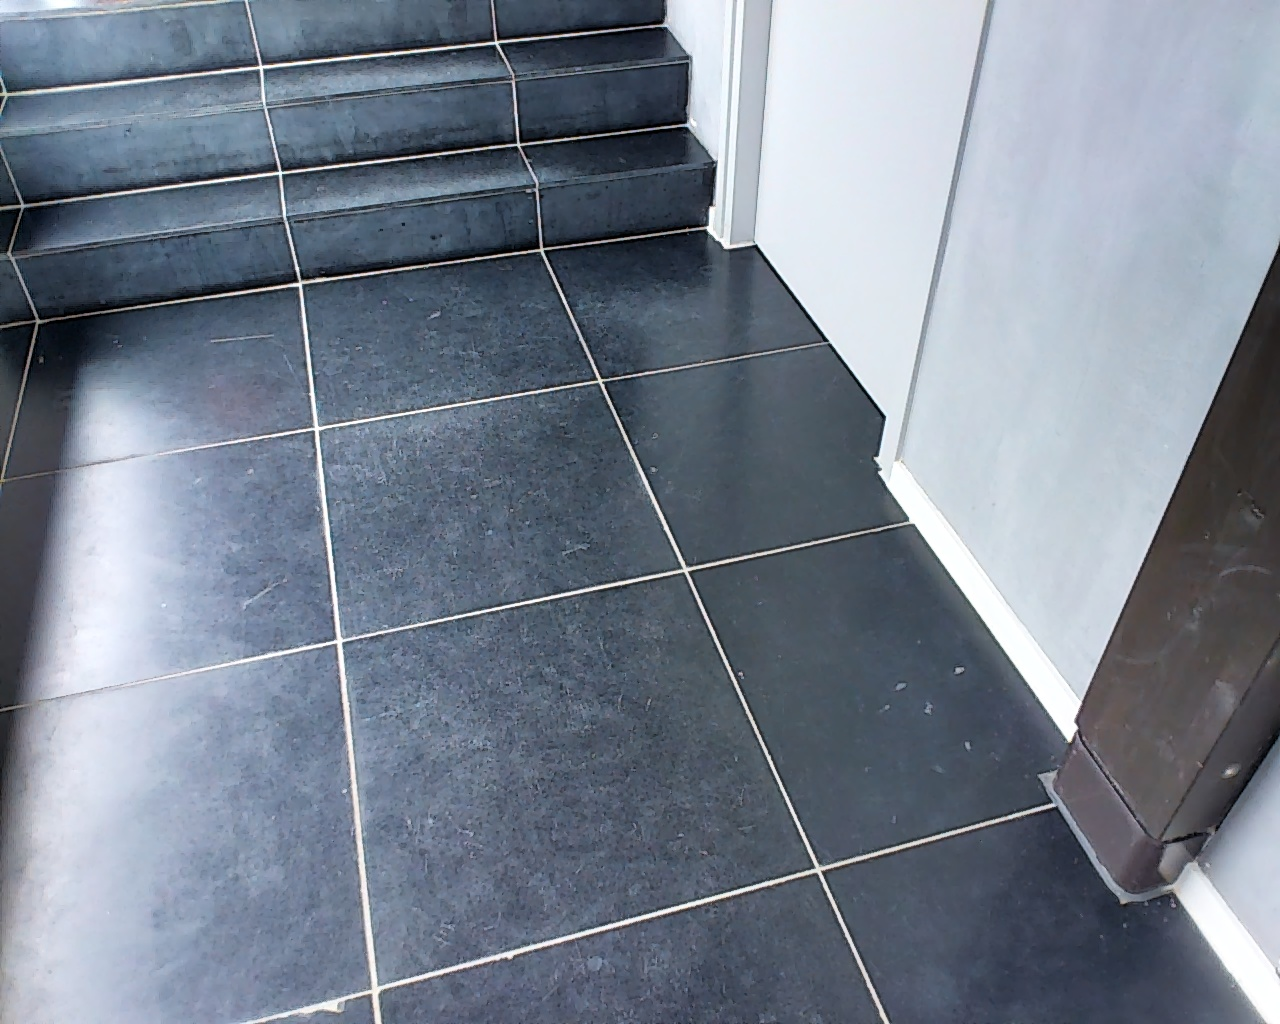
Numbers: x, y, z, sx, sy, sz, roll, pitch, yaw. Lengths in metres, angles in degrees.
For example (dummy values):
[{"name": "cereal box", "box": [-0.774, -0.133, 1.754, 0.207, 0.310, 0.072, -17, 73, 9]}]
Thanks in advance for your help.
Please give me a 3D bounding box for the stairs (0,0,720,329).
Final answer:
[{"name": "stairs", "box": [-0.740, -0.980, 2.630, 1.780, 0.640, 0.490, -11, 44, -12]}]
